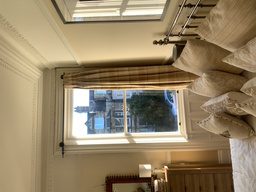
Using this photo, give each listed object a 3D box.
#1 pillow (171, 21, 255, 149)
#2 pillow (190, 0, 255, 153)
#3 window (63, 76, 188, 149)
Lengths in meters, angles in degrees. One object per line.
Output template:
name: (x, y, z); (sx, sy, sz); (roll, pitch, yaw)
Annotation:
pillow: (0.790, -0.080, 2.110); (0.540, 0.550, 1.130); (99, 170, -80)
pillow: (0.790, -0.250, 1.380); (0.590, 0.500, 1.140); (98, 171, -80)
window: (-0.050, 0.280, 3.690); (0.360, 2.020, 1.170); (99, 170, -81)
